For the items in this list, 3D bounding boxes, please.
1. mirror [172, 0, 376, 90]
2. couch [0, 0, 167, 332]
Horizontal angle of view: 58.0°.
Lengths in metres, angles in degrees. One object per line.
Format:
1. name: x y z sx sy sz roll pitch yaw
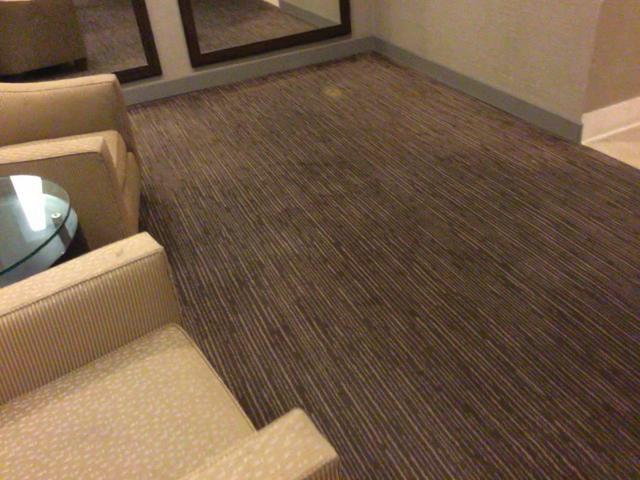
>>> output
1. mirror: -0.320 -1.730 3.680 1.280 1.240 0.160 -17 33 -12
2. couch: -1.200 -0.300 2.210 0.930 0.940 0.890 -15 27 -6
